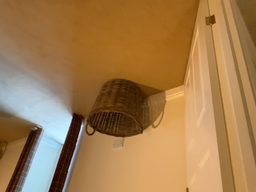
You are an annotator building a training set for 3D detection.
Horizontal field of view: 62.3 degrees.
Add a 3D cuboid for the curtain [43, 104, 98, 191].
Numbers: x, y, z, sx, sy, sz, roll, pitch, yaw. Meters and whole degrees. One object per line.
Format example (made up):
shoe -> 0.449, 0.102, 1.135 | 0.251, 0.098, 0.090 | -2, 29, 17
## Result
curtain -> -0.730, 1.120, 2.190 | 0.320, 2.250, 0.220 | -19, 137, 35
